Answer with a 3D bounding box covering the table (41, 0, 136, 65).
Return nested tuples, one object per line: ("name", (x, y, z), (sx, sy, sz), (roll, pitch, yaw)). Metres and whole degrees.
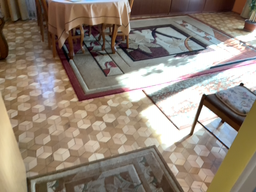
("table", (-0.780, -1.360, 3.400), (1.010, 0.760, 1.970), (-10, 40, -21))
